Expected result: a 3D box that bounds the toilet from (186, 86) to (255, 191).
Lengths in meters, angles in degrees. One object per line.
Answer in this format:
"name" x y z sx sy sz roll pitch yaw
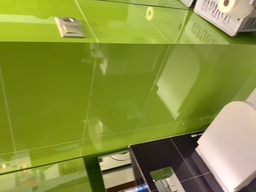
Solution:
"toilet" 0.770 0.270 1.320 0.400 0.480 0.540 62 146 38
